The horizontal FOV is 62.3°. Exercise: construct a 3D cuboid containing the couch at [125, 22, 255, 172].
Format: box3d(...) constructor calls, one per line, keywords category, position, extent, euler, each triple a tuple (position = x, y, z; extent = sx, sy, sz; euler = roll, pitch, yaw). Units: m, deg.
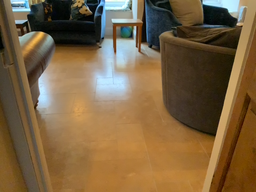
box3d(category="couch", position=(0.720, -0.170, 1.860), extent=(1.060, 0.730, 1.050), euler=(20, 33, 35))
